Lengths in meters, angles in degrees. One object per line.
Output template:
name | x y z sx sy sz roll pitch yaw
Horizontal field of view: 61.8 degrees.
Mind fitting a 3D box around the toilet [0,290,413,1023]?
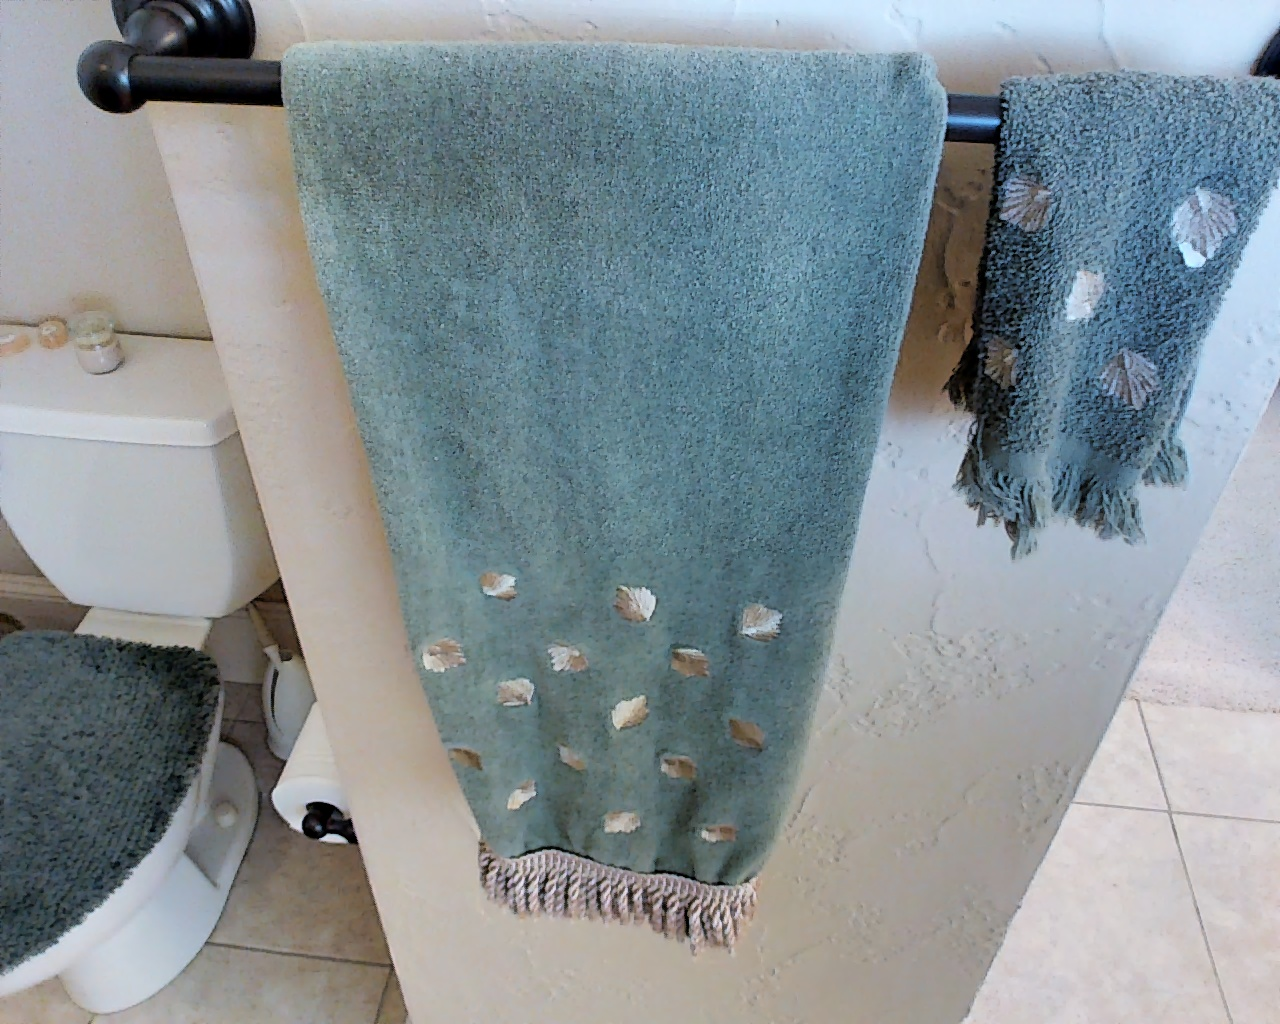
toilet | -0.730 0.290 1.470 0.510 0.840 0.820 5 42 5
